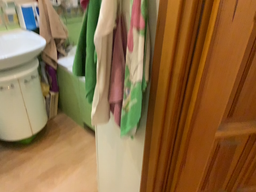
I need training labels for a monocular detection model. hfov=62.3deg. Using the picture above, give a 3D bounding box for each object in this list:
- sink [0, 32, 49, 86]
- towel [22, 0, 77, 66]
[{"bbox_3d":[-0.920,-0.250,1.440,0.450,0.180,0.550,26,39,32],"label":"sink"},{"bbox_3d":[-0.650,-0.580,1.810,0.180,0.530,0.330,23,38,29],"label":"towel"}]
